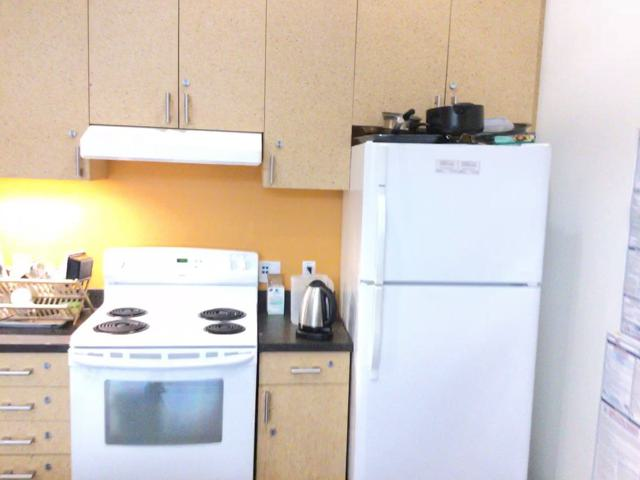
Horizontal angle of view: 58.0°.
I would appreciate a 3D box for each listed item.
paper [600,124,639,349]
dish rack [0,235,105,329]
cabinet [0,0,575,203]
[{"bbox_3d":[1.100,-0.010,1.820,0.050,0.750,0.620,2,2,-4],"label":"paper"},{"bbox_3d":[-1.380,0.180,2.690,0.600,0.370,0.440,2,2,-4],"label":"dish rack"},{"bbox_3d":[-1.430,-0.830,2.510,4.910,1.110,0.600,2,2,-4],"label":"cabinet"}]
